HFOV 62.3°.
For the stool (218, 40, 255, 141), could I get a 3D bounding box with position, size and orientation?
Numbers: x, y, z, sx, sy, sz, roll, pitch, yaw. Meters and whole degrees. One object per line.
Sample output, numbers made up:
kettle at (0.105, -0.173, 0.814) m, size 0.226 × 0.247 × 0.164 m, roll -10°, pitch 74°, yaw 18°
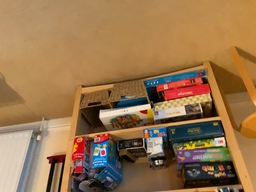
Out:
stool at (0.790, -0.040, 1.260) m, size 0.340 × 0.450 × 0.370 m, roll -10°, pitch 143°, yaw 11°
